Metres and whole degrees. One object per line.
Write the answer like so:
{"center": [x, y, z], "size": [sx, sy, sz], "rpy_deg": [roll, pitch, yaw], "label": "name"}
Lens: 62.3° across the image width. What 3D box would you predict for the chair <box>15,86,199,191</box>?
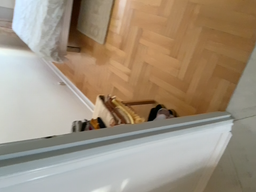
{"center": [-0.130, 0.290, 1.460], "size": [0.560, 1.030, 0.510], "rpy_deg": [41, 123, 42], "label": "chair"}
